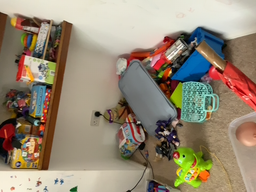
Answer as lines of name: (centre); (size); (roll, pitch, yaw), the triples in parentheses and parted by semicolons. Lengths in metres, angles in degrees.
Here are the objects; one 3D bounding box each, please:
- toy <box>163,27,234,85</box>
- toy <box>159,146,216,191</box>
toy: (0.440, -0.230, 1.360); (0.340, 0.220, 0.270); (2, 82, 59)
toy: (0.370, 0.460, 1.330); (0.230, 0.220, 0.230); (1, 81, 59)
